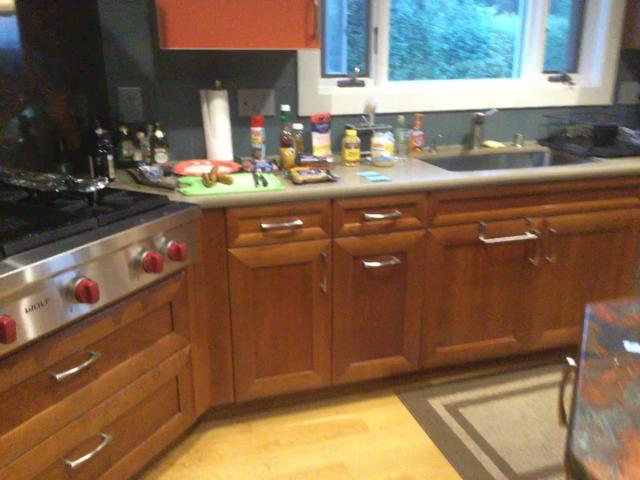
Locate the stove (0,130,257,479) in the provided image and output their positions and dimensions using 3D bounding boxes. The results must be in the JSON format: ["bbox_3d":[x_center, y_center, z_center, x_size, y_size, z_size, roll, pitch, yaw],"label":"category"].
[{"bbox_3d":[-0.890,0.310,1.560,0.840,1.010,1.300,12,18,22],"label":"stove"}]

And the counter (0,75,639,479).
[{"bbox_3d":[0.360,-0.060,1.440,3.800,0.380,2.580,-2,18,-22],"label":"counter"}]
